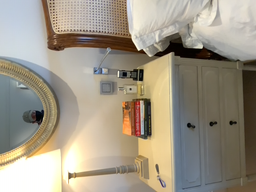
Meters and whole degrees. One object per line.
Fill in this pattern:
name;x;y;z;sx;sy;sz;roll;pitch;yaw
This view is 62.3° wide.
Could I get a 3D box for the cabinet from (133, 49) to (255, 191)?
cabinet;0.510;0.160;1.390;0.530;0.800;0.750;175;95;-69
